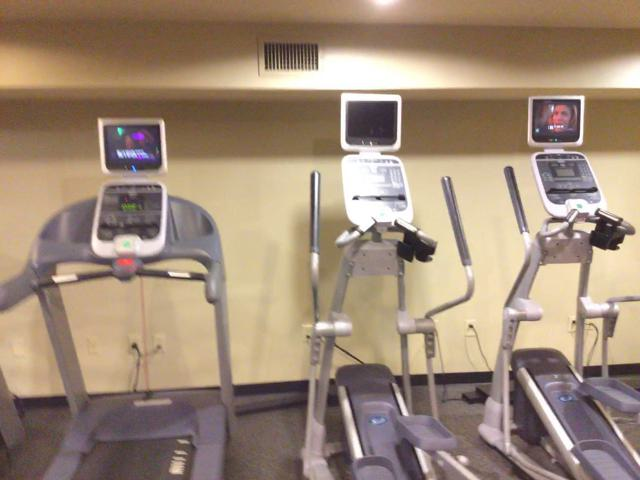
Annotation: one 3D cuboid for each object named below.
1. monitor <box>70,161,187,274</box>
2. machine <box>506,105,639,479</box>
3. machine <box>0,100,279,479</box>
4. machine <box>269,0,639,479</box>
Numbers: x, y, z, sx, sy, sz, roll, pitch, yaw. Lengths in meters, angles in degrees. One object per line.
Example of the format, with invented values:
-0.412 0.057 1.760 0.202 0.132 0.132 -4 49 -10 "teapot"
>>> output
-0.890 -0.110 2.720 0.410 0.320 0.140 -46 15 0 "monitor"
1.360 0.320 2.280 0.630 1.670 1.630 -4 10 -3 "machine"
-0.810 0.370 2.260 0.980 1.720 2.050 -4 13 -13 "machine"
0.320 0.260 2.230 0.730 1.960 2.180 -4 11 -9 "machine"
